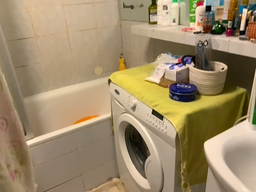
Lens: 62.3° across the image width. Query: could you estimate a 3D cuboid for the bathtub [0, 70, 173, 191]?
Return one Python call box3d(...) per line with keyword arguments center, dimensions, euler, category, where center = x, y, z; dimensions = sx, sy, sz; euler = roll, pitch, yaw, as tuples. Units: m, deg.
box3d(center=(-0.430, 0.300, 1.640), dimensions=(1.390, 0.560, 0.710), euler=(-17, 28, -26), category="bathtub")
